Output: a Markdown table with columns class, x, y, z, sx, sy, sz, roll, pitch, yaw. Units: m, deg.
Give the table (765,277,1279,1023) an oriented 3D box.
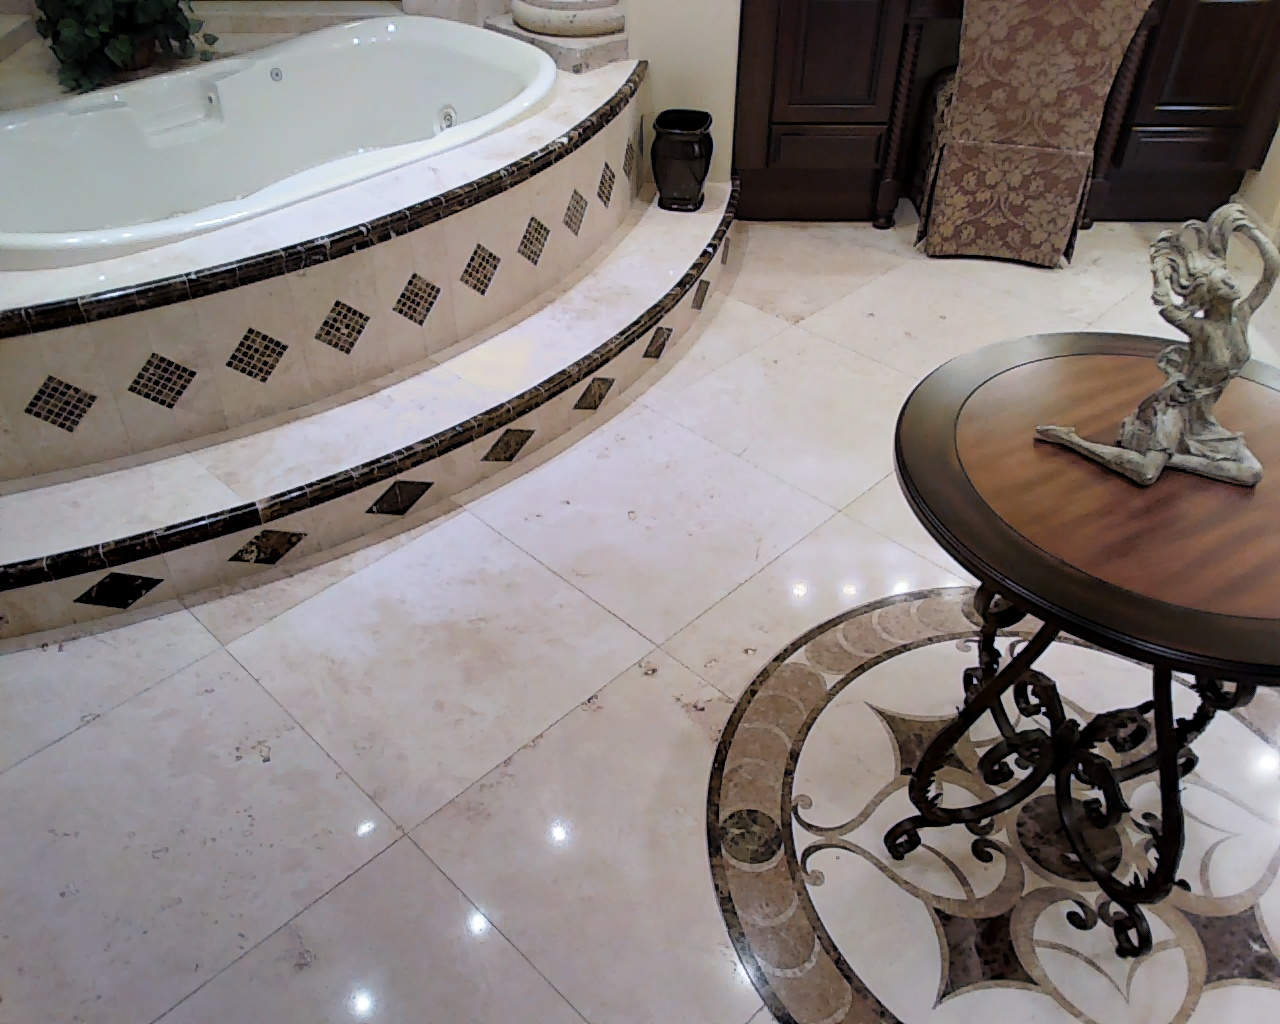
| class | x | y | z | sx | sy | sz | roll | pitch | yaw |
| --- | --- | --- | --- | --- | --- | --- | --- | --- | --- |
| table | 0.700 | 0.200 | 1.600 | 0.750 | 0.740 | 0.760 | -9 | 41 | -11 |
